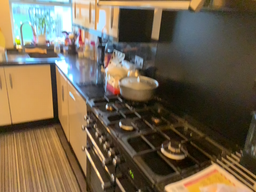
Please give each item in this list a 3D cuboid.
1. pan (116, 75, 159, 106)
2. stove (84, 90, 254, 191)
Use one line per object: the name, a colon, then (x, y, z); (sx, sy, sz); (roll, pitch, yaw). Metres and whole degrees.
pan: (0.060, -0.050, 1.560); (0.210, 0.130, 0.240); (-8, 25, -29)
stove: (0.160, 0.260, 1.390); (0.630, 0.230, 0.930); (-8, 25, -28)
